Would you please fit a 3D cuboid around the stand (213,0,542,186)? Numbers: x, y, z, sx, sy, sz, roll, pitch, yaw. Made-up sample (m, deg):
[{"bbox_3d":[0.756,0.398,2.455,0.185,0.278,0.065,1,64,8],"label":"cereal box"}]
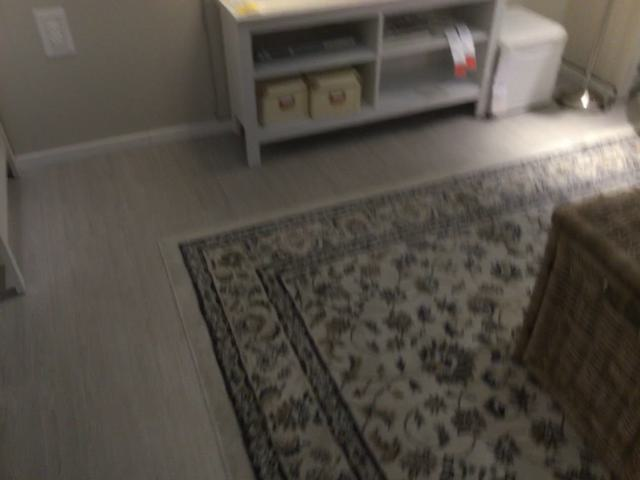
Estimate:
[{"bbox_3d":[0.250,-0.770,2.410,1.220,0.670,0.430,-17,40,-14],"label":"stand"}]
